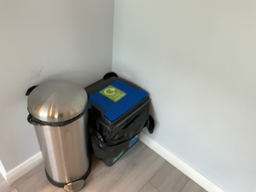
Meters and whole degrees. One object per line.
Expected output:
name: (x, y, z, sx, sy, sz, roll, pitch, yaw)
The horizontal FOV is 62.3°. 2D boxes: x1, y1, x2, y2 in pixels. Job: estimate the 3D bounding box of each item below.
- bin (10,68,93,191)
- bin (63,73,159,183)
bin: (-0.410, 0.220, 1.230, 0.280, 0.630, 0.330, -20, 46, -28)
bin: (-0.120, 0.200, 1.470, 0.430, 0.460, 0.420, 32, 46, 28)
